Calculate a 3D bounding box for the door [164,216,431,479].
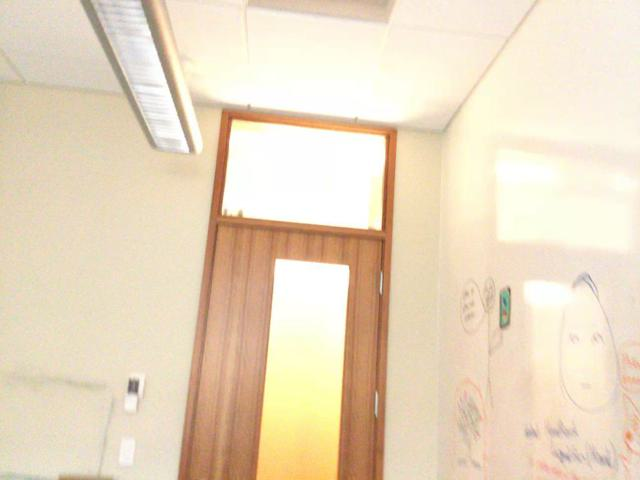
[{"bbox_3d":[-0.110,1.080,2.780,1.200,2.340,0.210,6,-18,-4],"label":"door"}]
